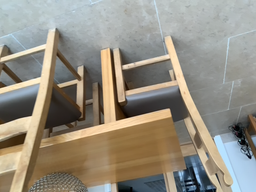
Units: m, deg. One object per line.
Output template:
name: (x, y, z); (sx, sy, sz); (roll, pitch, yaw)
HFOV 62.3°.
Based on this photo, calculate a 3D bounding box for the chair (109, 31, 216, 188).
chair: (0.190, 0.080, 1.440); (0.460, 0.880, 0.450); (-13, 146, 8)
